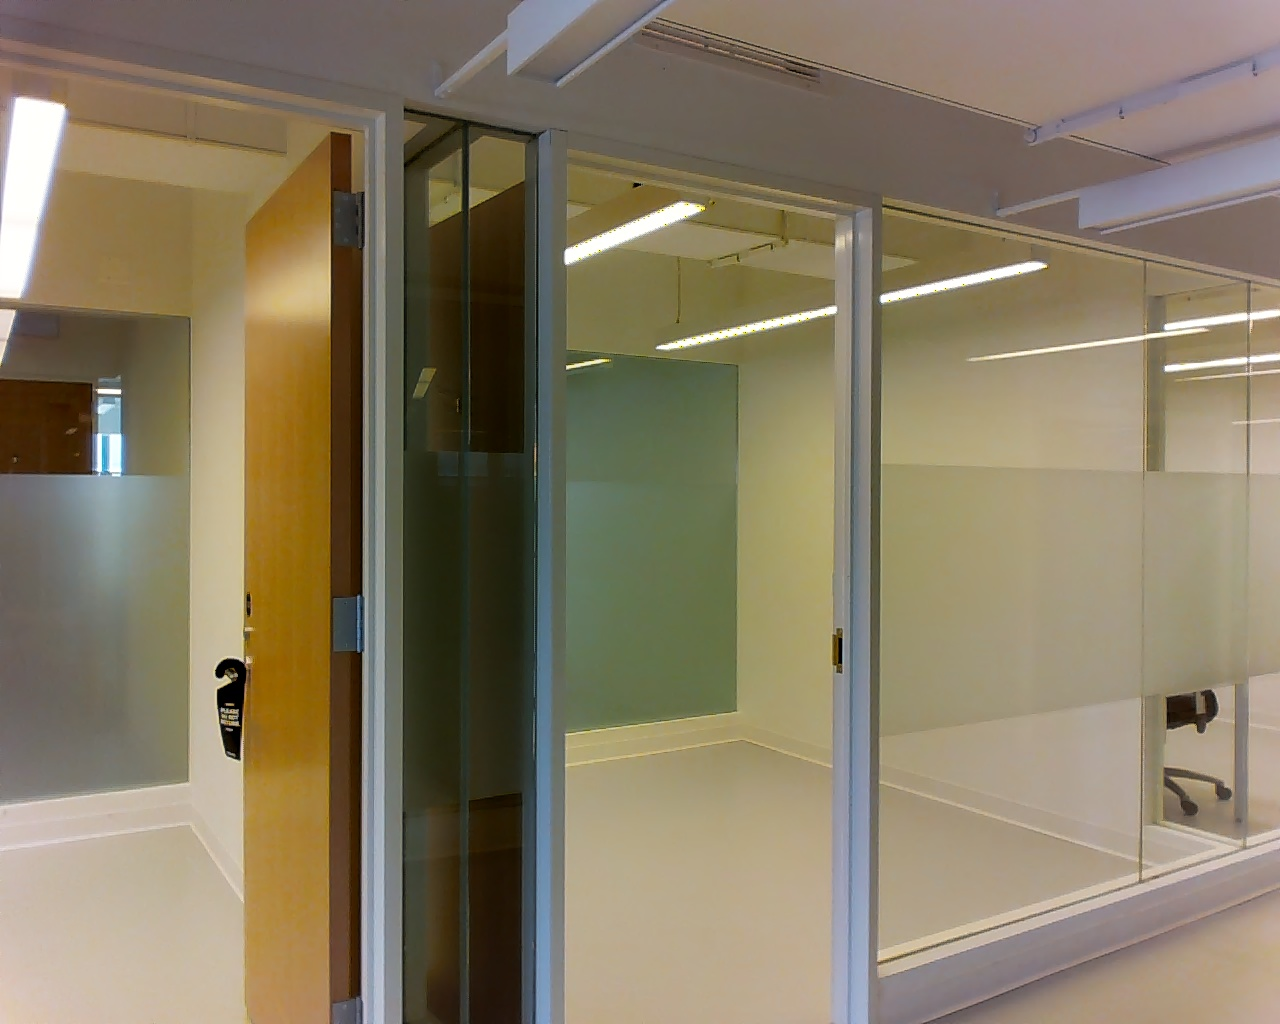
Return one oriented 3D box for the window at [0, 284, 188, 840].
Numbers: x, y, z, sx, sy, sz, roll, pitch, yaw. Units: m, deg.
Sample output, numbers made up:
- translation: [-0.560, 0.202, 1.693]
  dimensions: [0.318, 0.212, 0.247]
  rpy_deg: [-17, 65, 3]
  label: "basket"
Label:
- translation: [-3.289, 0.200, 3.950]
  dimensions: [3.000, 2.230, 0.200]
  rpy_deg: [0, 0, -33]
  label: "window"
